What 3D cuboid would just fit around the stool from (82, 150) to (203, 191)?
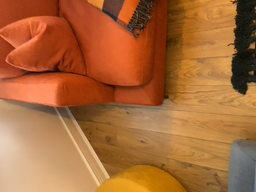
[{"bbox_3d":[0.070,0.800,1.330,0.680,0.330,0.730,2,94,36],"label":"stool"}]
